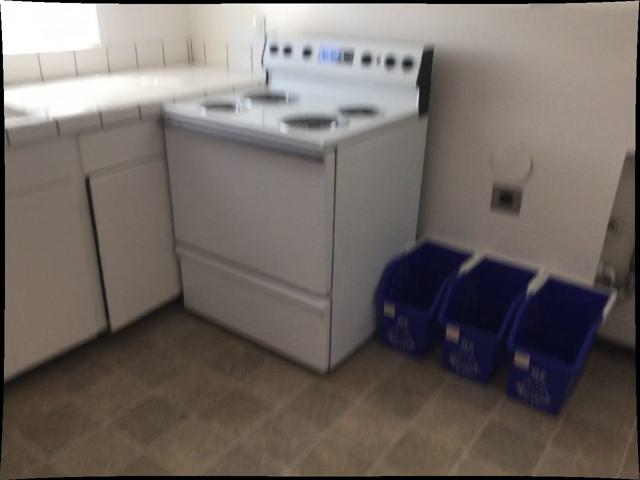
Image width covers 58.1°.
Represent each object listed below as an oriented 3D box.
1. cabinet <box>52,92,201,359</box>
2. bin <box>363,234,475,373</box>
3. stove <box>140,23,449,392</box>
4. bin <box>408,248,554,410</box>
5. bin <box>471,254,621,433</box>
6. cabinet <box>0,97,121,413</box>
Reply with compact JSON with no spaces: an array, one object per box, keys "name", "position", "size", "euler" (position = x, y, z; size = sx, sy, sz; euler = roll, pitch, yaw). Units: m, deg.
[{"name":"cabinet","position":[-0.689,-0.050,2.190],"size":[0.090,0.921,0.470],"euler":[20,32,31]},{"name":"bin","position":[0.399,0.240,2.330],"size":[0.260,0.360,0.390],"euler":[20,32,31]},{"name":"stove","position":[-0.090,-0.200,2.310],"size":[0.819,1.121,0.740],"euler":[20,32,31]},{"name":"bin","position":[0.609,0.321,2.200],"size":[0.370,0.370,0.380],"euler":[20,32,31]},{"name":"bin","position":[0.829,0.351,2.110],"size":[0.320,0.360,0.500],"euler":[20,32,31]},{"name":"cabinet","position":[-1.218,0.160,1.730],"size":[0.260,0.931,1.140],"euler":[20,32,31]}]
